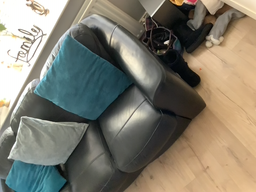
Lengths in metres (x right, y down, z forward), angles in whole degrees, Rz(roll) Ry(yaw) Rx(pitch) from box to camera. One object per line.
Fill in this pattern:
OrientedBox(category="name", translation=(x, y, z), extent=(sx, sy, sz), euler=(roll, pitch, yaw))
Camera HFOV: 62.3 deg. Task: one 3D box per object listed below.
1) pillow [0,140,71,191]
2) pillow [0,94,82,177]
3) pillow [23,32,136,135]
OrientedBox(category="pillow", translation=(-0.870, 0.760, 1.890), extent=(0.520, 0.450, 0.210), euler=(-50, -6, 14))
OrientedBox(category="pillow", translation=(-0.700, 0.330, 1.670), extent=(0.510, 0.460, 0.230), euler=(-51, 29, 20))
OrientedBox(category="pillow", translation=(-0.340, -0.050, 1.520), extent=(0.530, 0.560, 0.210), euler=(-49, 30, 25))
